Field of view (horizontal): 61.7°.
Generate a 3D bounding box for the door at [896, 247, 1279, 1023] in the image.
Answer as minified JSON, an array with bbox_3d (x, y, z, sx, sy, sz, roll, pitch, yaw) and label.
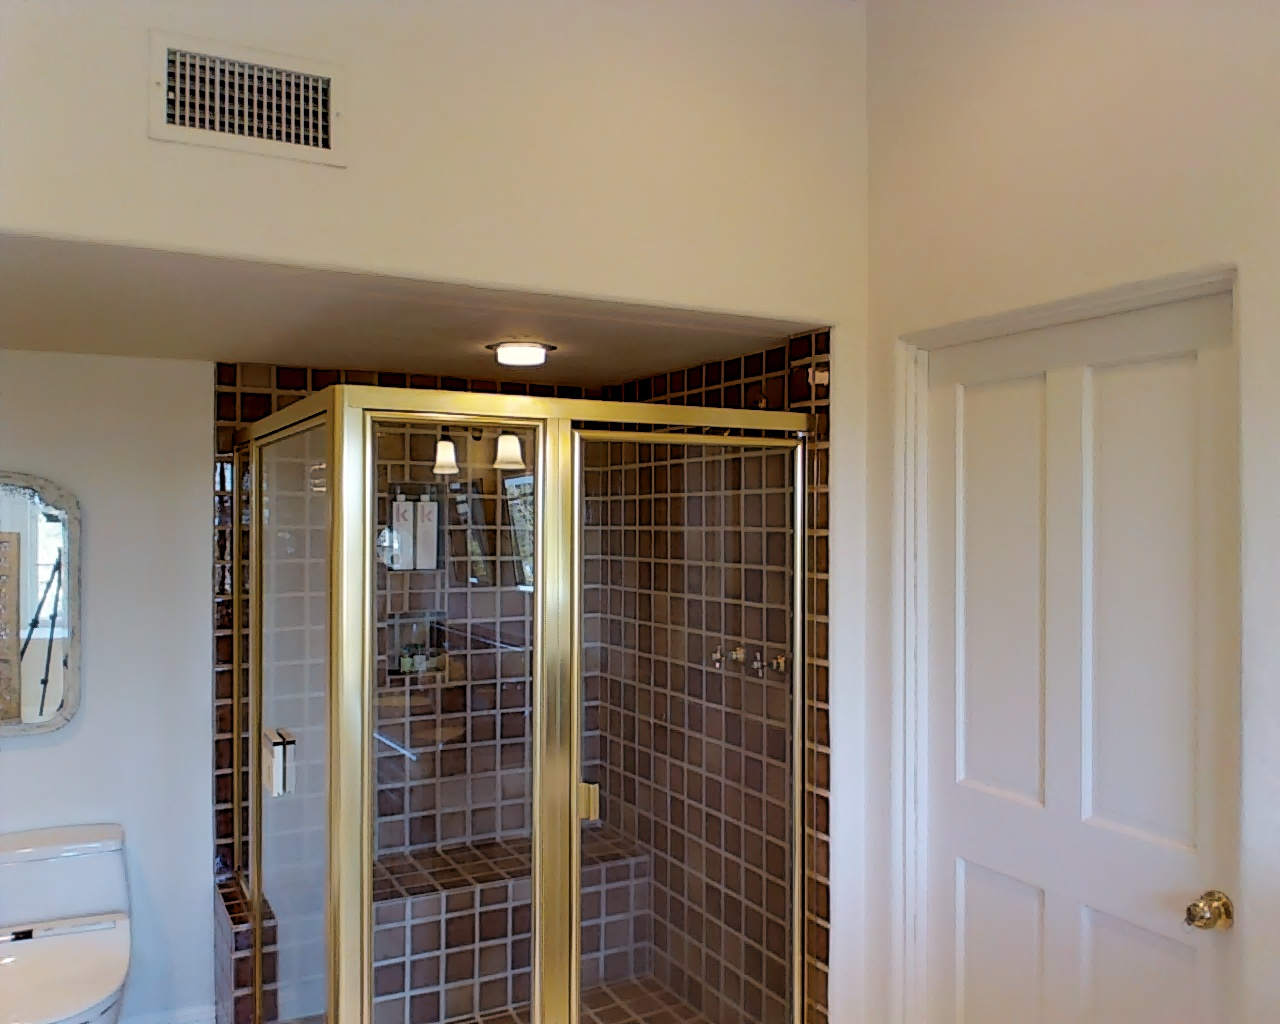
[{"bbox_3d":[0.880,0.580,2.240,0.110,2.061,0.890,0,0,-28],"label":"door"}]
